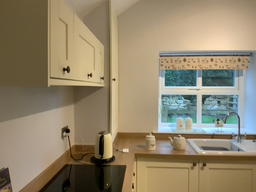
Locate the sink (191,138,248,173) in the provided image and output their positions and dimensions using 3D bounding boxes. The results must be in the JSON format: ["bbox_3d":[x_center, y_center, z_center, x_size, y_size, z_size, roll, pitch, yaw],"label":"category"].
[{"bbox_3d":[0.950,0.620,2.290,0.410,0.210,0.510,0,3,4],"label":"sink"}]
